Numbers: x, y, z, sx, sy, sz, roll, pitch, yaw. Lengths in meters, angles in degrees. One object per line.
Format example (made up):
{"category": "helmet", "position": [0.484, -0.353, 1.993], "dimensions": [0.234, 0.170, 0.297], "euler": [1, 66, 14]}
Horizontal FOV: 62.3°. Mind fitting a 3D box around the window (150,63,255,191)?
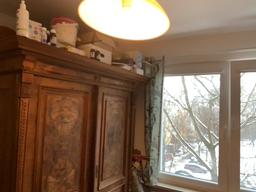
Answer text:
{"category": "window", "position": [0.980, 0.380, 2.300], "dimensions": [1.490, 1.390, 0.210], "euler": [1, -4, 34]}
